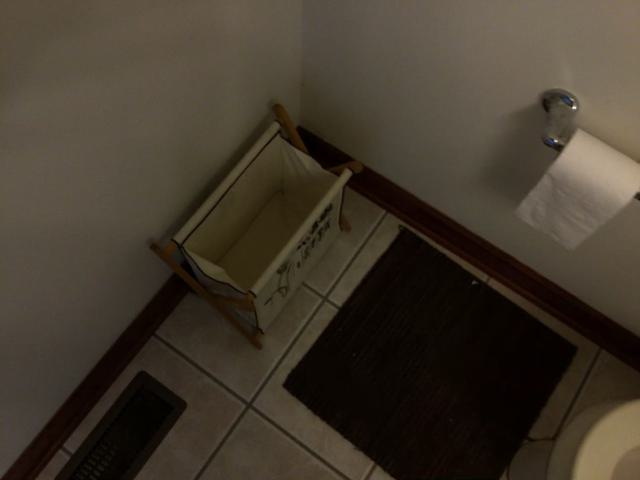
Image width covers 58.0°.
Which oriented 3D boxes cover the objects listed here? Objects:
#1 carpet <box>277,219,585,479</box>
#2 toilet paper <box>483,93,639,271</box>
[{"bbox_3d":[0.260,0.290,1.330,0.510,0.040,0.510,35,72,10],"label":"carpet"},{"bbox_3d":[0.400,-0.080,0.920,0.180,0.240,0.110,35,72,10],"label":"toilet paper"}]
